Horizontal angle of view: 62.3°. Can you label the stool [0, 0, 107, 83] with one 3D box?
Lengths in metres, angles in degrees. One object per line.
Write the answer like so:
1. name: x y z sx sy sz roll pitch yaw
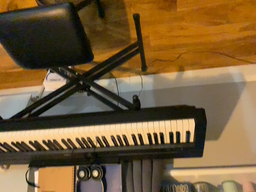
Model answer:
1. stool: -0.360 -0.380 1.110 0.370 0.480 0.340 -6 139 10
